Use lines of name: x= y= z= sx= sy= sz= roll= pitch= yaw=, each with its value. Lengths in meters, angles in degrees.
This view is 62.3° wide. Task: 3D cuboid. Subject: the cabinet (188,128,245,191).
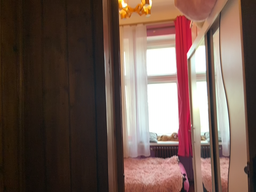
cabinet: x=1.280 y=1.090 z=3.300 sx=0.460 sy=1.010 sz=1.490 roll=-2 pitch=-2 yaw=9
